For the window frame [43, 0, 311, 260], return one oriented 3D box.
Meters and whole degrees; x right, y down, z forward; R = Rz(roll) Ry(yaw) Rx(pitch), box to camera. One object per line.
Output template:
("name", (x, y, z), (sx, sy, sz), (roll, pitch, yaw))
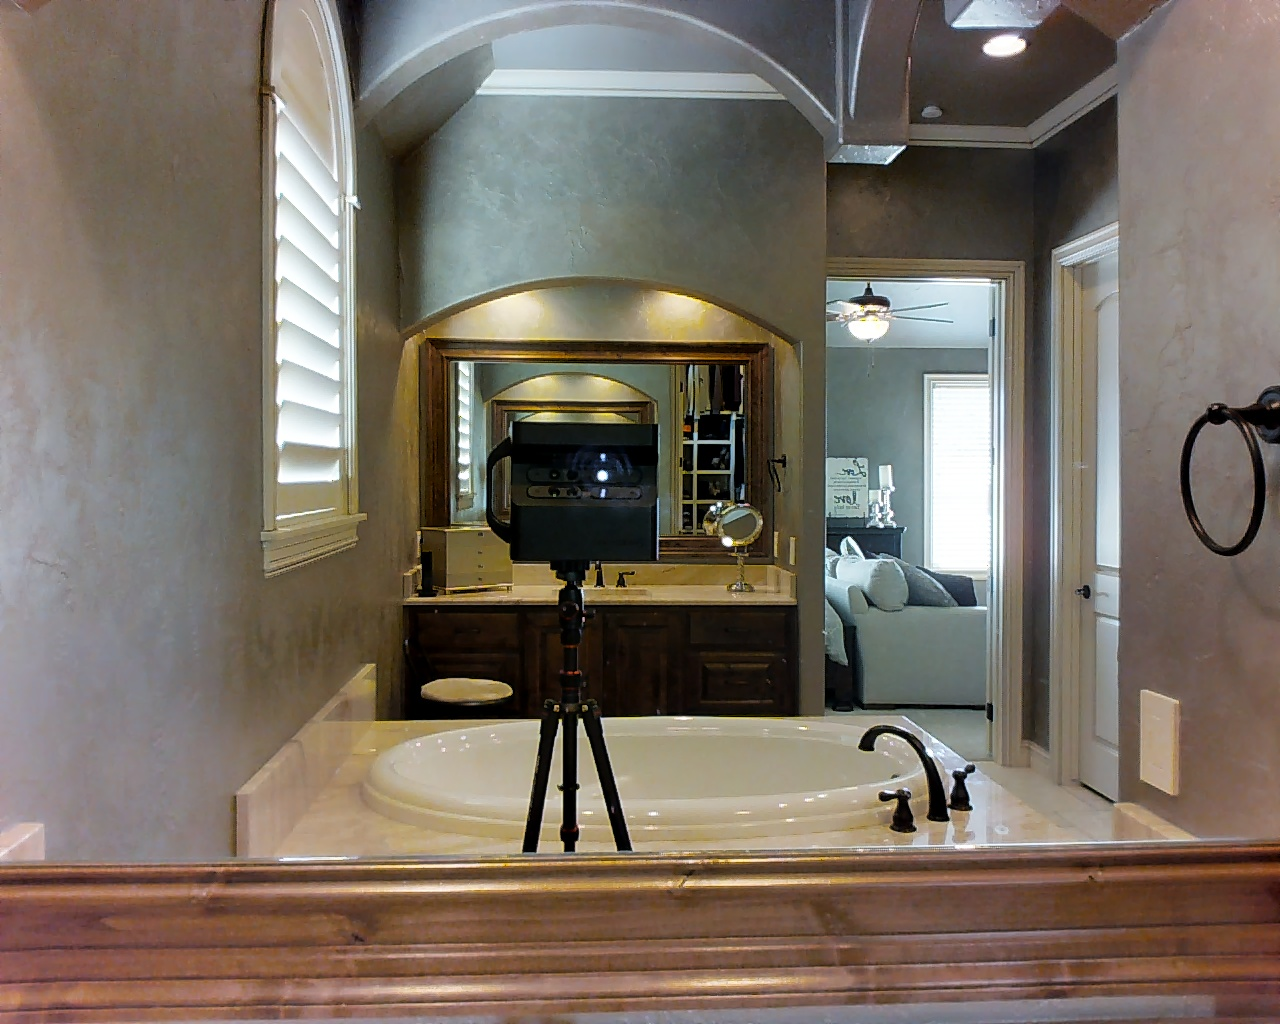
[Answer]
("window frame", (-0.870, -0.790, 2.170), (0.120, 0.310, 1.130), (-1, 1, -3))
